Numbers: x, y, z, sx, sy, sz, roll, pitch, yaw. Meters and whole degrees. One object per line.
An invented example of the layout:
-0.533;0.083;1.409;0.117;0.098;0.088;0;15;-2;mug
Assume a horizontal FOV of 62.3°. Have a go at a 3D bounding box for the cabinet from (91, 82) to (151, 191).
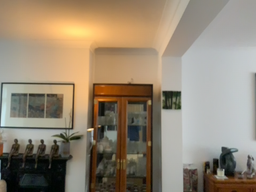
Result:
-0.090;0.840;2.980;0.770;2.020;0.430;0;-4;-1;cabinet
